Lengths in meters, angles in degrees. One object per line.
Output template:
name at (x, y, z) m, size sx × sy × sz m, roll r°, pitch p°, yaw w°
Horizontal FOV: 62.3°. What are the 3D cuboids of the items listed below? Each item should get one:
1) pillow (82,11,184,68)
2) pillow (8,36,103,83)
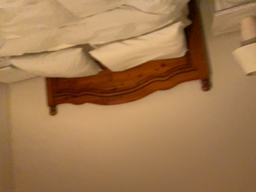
pillow at (0.040, -0.390, 1.580) m, size 0.690 × 0.180 × 0.290 m, roll -9°, pitch 172°, yaw 18°
pillow at (-0.620, -0.290, 1.830) m, size 0.730 × 0.200 × 0.290 m, roll -9°, pitch 172°, yaw 16°
